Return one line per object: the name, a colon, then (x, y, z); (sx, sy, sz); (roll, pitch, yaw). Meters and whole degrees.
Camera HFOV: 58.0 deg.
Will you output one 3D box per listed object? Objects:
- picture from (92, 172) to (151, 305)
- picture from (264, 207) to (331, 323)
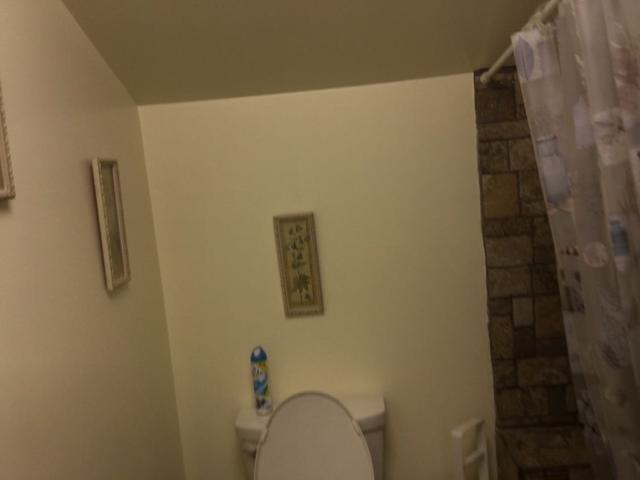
picture: (-0.520, -0.010, 1.530); (0.030, 0.330, 0.210); (-6, 4, 4)
picture: (-0.070, 0.080, 1.840); (0.170, 0.350, 0.040); (-6, 4, 4)
